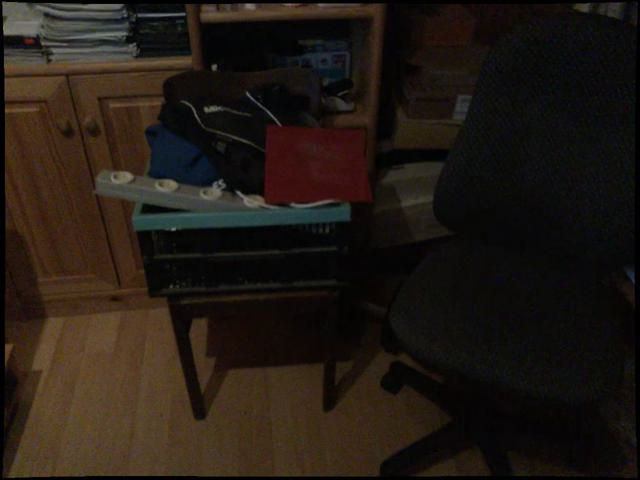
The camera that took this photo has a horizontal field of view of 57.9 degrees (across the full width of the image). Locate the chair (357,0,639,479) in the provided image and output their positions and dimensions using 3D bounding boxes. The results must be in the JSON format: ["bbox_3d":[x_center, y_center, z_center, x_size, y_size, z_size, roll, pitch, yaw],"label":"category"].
[{"bbox_3d":[0.460,0.140,1.310,0.639,1.051,0.730,5,42,2],"label":"chair"}]

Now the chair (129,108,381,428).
[{"bbox_3d":[-0.190,0.080,1.640,0.529,0.700,0.520,-5,43,-9],"label":"chair"}]
